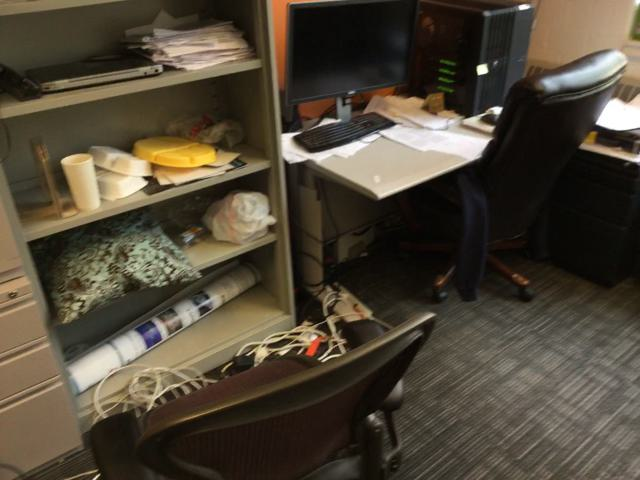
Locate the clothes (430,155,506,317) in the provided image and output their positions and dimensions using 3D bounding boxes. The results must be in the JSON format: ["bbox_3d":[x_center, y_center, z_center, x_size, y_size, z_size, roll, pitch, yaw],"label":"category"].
[{"bbox_3d":[0.560,-0.010,2.230,0.110,0.590,0.190,-20,34,-33],"label":"clothes"}]
